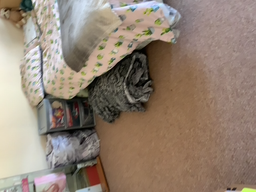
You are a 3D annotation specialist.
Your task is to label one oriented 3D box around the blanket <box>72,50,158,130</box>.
[{"bbox_3d":[-0.210,0.010,2.130,1.100,0.260,0.460,-27,69,51],"label":"blanket"}]
